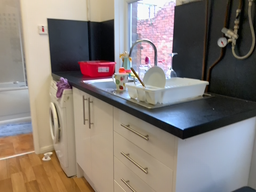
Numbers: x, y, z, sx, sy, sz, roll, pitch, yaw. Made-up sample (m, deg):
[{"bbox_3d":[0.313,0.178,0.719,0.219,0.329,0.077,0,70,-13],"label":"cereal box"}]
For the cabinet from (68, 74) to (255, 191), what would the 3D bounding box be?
[{"bbox_3d":[0.090,0.400,1.540,0.590,0.950,1.230,-8,16,-34],"label":"cabinet"}]

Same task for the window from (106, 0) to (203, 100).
[{"bbox_3d":[0.170,-0.910,1.950,0.310,1.690,1.040,-8,16,-31],"label":"window"}]

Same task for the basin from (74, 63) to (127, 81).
[{"bbox_3d":[-0.290,-0.260,2.220,0.420,0.130,0.380,-8,16,-32],"label":"basin"}]
